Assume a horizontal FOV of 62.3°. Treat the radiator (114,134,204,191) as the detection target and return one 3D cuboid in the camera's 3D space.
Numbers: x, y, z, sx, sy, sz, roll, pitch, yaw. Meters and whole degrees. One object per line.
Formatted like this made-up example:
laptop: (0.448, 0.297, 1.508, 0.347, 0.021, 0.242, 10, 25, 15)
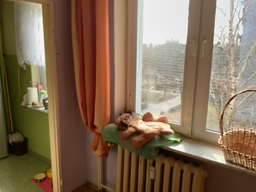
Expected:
radiator: (0.230, 0.780, 1.910, 0.790, 0.680, 0.160, 9, 14, 35)
